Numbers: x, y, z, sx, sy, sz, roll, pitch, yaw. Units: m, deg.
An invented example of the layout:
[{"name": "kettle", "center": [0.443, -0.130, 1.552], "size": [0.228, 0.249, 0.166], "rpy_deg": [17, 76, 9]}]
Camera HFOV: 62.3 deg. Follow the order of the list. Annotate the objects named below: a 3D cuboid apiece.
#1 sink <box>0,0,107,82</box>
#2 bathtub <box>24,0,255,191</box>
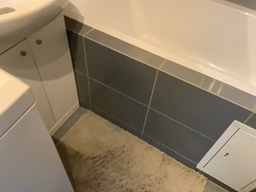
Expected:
[{"name": "sink", "center": [-0.390, -0.330, 0.700], "size": [0.410, 0.150, 0.530], "rpy_deg": [27, 53, 15]}, {"name": "bathtub", "center": [0.290, -0.160, 1.260], "size": [1.400, 0.590, 0.790], "rpy_deg": [27, 53, 16]}]
